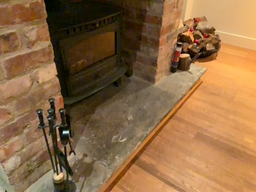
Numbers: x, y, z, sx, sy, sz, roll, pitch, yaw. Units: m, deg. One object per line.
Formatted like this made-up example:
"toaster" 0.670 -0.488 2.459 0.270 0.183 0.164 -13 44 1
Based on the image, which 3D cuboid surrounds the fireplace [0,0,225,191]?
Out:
"fireplace" -0.220 -0.540 1.320 1.040 1.650 2.240 24 41 27
